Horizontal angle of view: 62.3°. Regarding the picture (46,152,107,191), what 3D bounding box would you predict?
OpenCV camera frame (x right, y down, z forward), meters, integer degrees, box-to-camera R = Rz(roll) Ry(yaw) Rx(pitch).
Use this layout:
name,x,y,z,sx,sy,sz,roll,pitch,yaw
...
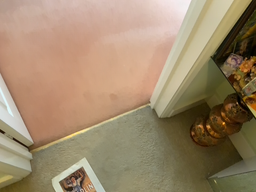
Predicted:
name,x,y,z,sx,sy,sz,roll,pitch,yaw
picture,-0.250,0.490,1.100,0.230,0.020,0.310,-30,70,-17
